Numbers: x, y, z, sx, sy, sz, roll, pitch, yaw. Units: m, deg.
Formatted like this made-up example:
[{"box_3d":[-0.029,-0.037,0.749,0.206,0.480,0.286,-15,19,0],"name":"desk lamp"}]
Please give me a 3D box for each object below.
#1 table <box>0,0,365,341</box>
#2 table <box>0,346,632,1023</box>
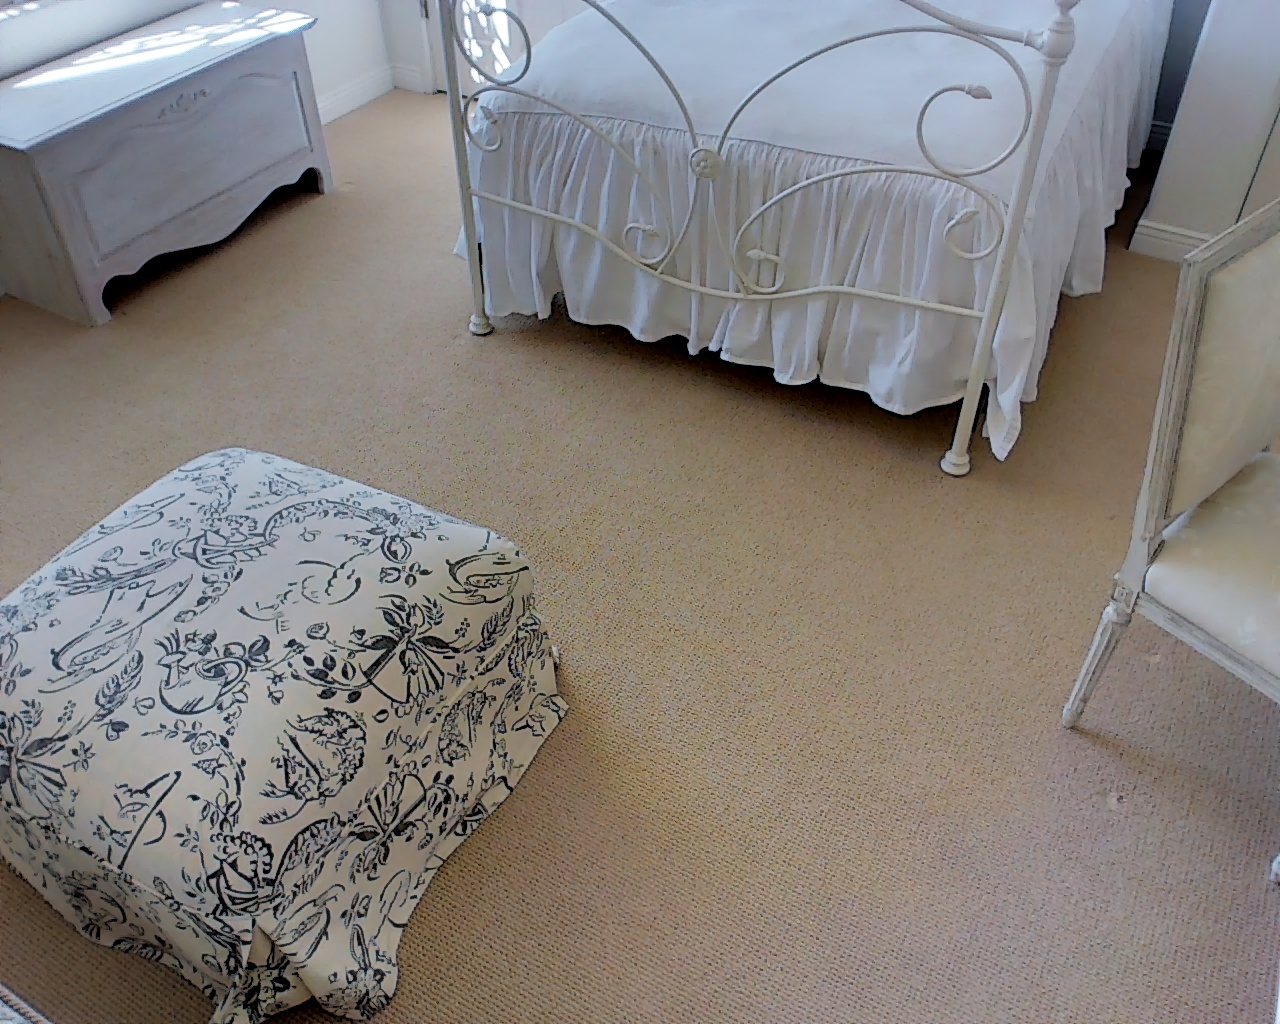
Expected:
[{"box_3d":[-1.450,-1.100,3.300,0.480,0.570,1.120,20,46,22],"name":"table"},{"box_3d":[-0.650,0.260,1.820,0.970,0.490,0.850,20,46,22],"name":"table"}]
